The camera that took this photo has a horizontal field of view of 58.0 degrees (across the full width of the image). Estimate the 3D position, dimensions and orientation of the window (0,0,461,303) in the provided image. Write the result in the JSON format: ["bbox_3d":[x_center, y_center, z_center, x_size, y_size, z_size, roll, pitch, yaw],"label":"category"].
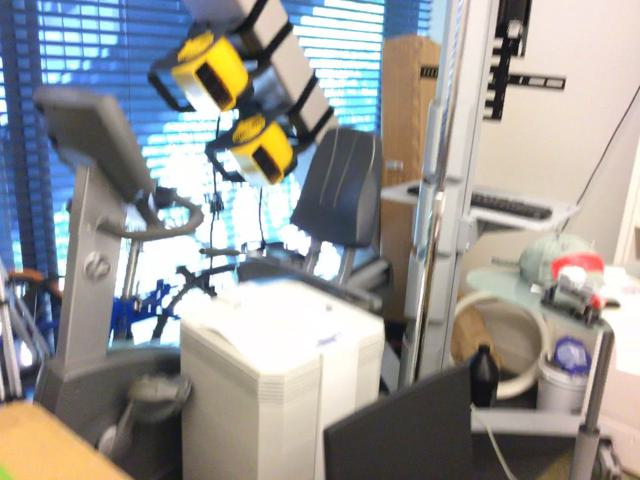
[{"bbox_3d":[-0.310,-0.740,2.340,2.410,1.490,0.410,-12,18,-41],"label":"window"}]

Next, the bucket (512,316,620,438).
[{"bbox_3d":[0.980,0.530,2.310,0.300,0.330,0.270,-12,18,-41],"label":"bucket"}]

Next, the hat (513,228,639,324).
[{"bbox_3d":[0.580,0.070,1.290,0.170,0.140,0.230,-5,14,-19],"label":"hat"}]
